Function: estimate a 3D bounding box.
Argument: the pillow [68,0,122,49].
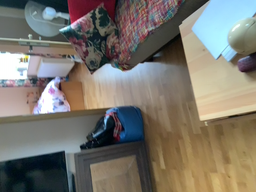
[{"bbox_3d":[-0.290,-0.670,1.790,0.250,0.330,0.450,-26,71,58],"label":"pillow"}]
